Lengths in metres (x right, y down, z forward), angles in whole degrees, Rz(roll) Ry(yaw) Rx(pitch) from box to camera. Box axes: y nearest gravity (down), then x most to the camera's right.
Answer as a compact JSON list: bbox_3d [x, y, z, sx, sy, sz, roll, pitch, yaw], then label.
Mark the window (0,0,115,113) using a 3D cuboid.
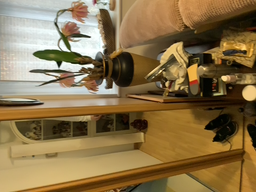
[{"bbox_3d":[-0.590,-0.670,1.760,0.380,0.890,1.540,9,99,63],"label":"window"}]
